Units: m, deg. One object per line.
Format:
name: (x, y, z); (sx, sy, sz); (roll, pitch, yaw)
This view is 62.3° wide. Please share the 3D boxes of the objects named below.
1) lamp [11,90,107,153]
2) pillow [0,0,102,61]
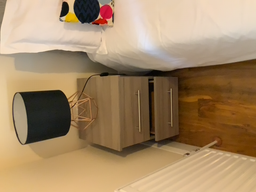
lamp: (-0.350, 0.100, 1.110); (0.260, 0.400, 0.240); (4, 97, 47)
pillow: (-0.380, -0.580, 1.040); (0.170, 0.470, 0.780); (10, 101, 62)
